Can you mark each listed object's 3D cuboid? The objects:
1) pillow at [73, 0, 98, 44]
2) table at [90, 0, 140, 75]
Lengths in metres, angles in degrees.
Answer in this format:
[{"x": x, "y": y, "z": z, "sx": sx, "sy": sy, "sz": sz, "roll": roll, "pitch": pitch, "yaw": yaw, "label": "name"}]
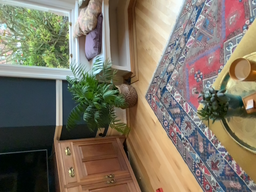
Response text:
[{"x": -0.520, "y": -0.950, "z": 2.540, "sx": 0.500, "sy": 0.150, "sz": 0.500, "roll": -6, "pitch": 83, "yaw": 62, "label": "pillow"}, {"x": -0.180, "y": -0.730, "z": 2.690, "sx": 0.460, "sy": 0.480, "sz": 0.810, "roll": -11, "pitch": 79, "yaw": 61, "label": "table"}]
